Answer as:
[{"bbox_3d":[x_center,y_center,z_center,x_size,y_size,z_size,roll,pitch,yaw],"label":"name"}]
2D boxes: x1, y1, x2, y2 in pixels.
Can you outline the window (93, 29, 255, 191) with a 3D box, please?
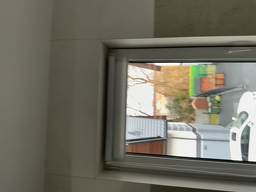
[{"bbox_3d":[0.480,0.080,1.300,0.260,1.330,0.890,7,-95,-80],"label":"window"}]
